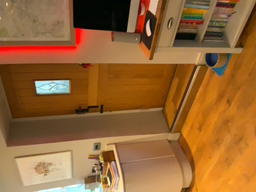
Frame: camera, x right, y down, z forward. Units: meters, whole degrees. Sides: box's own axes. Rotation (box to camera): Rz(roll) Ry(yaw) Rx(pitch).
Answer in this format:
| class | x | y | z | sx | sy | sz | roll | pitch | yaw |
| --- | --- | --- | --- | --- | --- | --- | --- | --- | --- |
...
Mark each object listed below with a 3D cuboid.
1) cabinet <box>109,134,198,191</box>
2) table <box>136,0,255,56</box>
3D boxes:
| class | x | y | z | sx | sy | sz | roll | pitch | yaw |
| --- | --- | --- | --- | --- | --- | --- | --- | --- | --- |
| cabinet | 0.280 | 0.890 | 2.680 | 0.620 | 0.900 | 0.380 | -112 | 26 | -47 |
| table | 0.590 | -0.780 | 1.550 | 0.340 | 0.850 | 0.900 | -112 | 25 | -46 |
